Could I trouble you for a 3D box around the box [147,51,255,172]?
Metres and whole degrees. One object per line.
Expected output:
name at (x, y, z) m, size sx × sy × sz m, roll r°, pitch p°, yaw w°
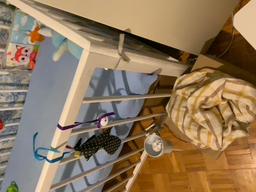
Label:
box at (0.360, 0.050, 0.910) m, size 0.280 × 0.370 × 0.330 m, roll 43°, pitch 115°, yaw 27°
